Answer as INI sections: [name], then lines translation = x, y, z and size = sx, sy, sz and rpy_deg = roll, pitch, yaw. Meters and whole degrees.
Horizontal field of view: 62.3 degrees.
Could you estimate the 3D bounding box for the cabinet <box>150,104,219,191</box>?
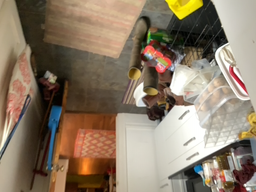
[cabinet]
translation = 0.690, 1.200, 2.420
size = 0.610, 2.290, 0.340
rpy_deg = 4, 149, -11
